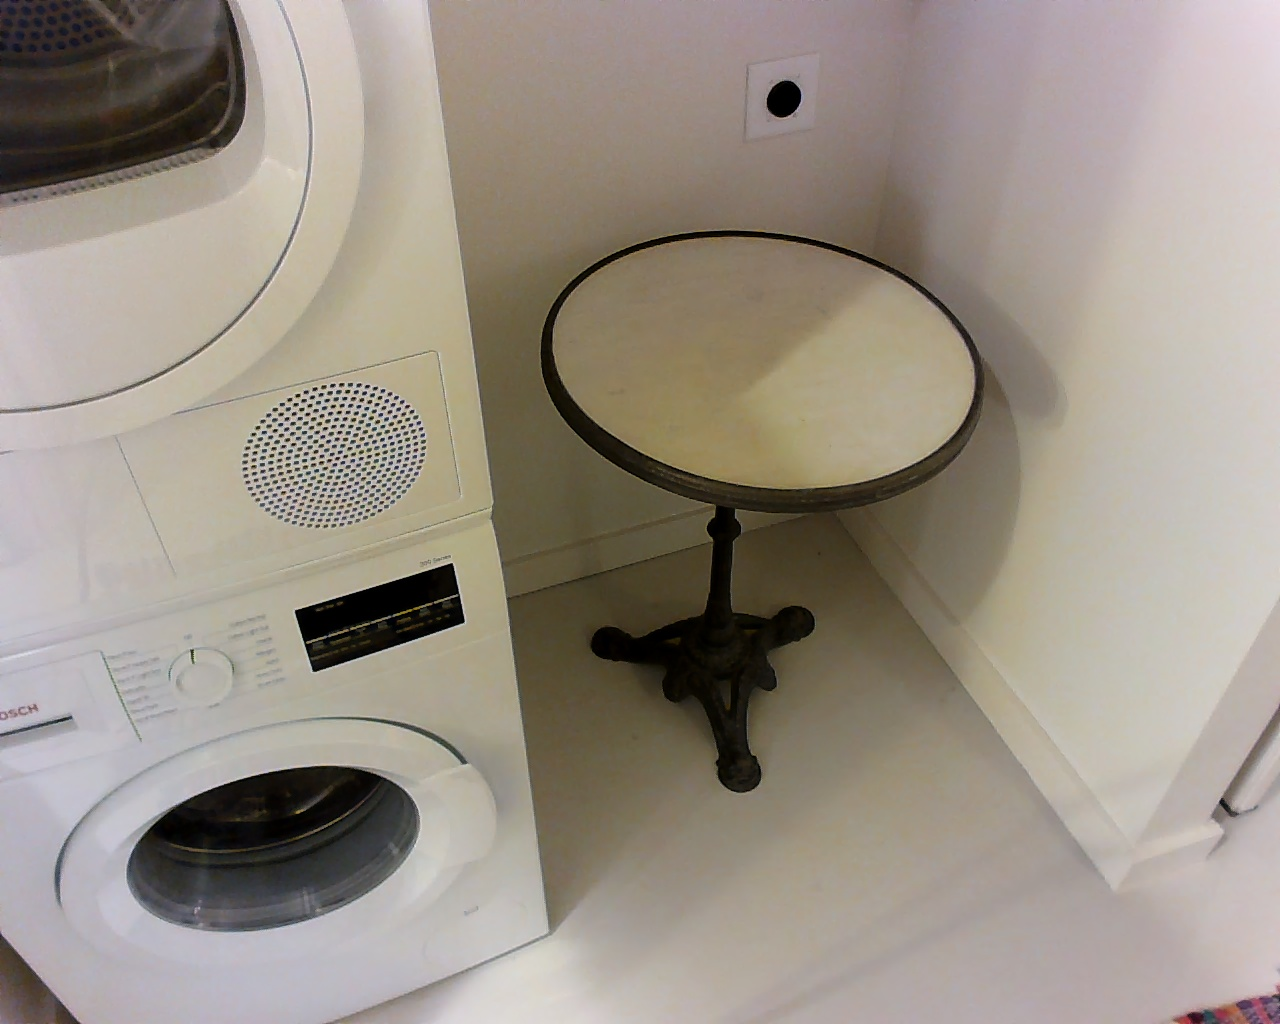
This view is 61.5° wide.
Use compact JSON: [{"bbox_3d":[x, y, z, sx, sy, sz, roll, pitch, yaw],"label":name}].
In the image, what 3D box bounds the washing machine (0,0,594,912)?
[{"bbox_3d":[-0.520,-0.320,0.970,0.710,1.110,0.740,-15,45,-15],"label":"washing machine"}]
